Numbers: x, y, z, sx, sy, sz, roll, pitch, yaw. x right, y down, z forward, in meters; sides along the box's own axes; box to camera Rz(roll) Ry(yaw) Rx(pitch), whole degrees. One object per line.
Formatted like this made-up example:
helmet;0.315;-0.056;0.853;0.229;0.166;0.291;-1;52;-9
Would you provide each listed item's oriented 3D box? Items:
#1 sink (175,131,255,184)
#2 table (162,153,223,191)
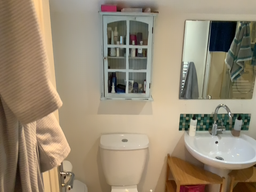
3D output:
sink;0.720;0.450;1.640;0.590;0.180;0.450;0;16;-3
table;0.500;0.840;1.780;0.350;0.590;0.360;0;16;-3
